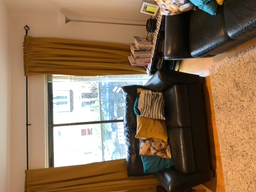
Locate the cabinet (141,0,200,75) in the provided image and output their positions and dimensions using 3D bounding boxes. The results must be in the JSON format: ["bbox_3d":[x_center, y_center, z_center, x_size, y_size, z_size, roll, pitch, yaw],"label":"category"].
[{"bbox_3d":[0.590,-0.910,3.230,0.400,0.500,1.140,-112,25,-50],"label":"cabinet"}]

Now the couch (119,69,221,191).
[{"bbox_3d":[0.480,0.470,2.950,0.990,0.900,1.480,154,113,-73],"label":"couch"}]
